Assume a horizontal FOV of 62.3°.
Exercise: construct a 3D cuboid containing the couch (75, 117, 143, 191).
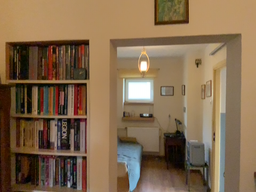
[{"bbox_3d":[-0.220,1.010,4.400,1.040,0.910,2.200,1,1,5],"label":"couch"}]
